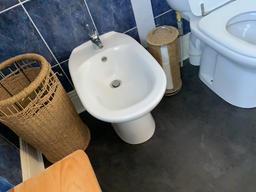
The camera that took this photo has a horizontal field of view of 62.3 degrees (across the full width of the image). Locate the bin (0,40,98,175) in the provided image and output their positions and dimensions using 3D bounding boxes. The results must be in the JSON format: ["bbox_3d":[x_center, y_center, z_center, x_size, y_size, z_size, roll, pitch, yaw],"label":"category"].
[{"bbox_3d":[-0.410,0.070,1.060,0.270,0.490,0.390,-26,47,-6],"label":"bin"}]
